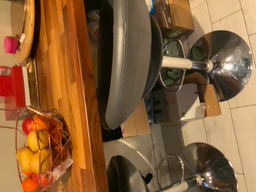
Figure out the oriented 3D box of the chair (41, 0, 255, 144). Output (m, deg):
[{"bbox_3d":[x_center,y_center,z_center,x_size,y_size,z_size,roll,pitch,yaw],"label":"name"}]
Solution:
[{"bbox_3d":[0.150,-0.160,0.980,0.560,0.880,0.520,-1,91,51],"label":"chair"}]
